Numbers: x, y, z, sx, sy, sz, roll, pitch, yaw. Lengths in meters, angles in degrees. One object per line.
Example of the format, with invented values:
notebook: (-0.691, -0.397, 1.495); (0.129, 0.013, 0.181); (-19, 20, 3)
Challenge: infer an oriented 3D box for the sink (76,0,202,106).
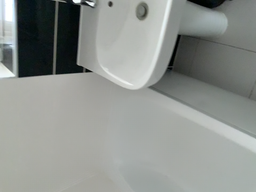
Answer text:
sink: (0.020, -0.310, 0.790); (0.420, 0.180, 0.550); (30, 118, 39)
